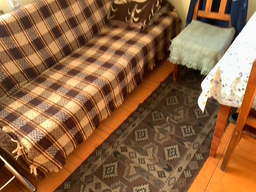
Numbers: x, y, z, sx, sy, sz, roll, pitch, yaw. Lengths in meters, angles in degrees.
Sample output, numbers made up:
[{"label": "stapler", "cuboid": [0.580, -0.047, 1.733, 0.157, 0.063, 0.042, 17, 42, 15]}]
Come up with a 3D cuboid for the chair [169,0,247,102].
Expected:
[{"label": "chair", "cuboid": [0.660, -0.500, 1.790, 0.420, 0.900, 0.520, 19, 50, 26]}]

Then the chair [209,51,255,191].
[{"label": "chair", "cuboid": [0.760, 0.140, 1.110, 0.360, 0.900, 0.480, 22, 52, 29]}]
